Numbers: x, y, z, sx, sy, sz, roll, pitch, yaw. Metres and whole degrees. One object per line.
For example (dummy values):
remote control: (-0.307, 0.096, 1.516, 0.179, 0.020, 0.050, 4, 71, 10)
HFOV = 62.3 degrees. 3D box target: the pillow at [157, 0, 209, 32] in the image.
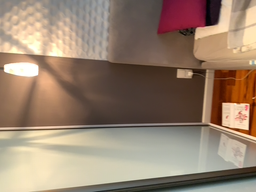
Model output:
pillow: (0.390, -0.660, 1.550, 0.400, 0.150, 0.340, -144, 57, -66)
